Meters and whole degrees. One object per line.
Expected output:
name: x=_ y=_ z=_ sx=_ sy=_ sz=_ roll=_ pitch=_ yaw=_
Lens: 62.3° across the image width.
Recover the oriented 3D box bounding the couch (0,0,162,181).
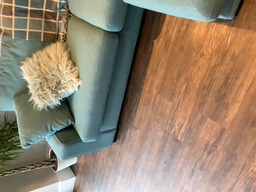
couch: x=-0.490 y=-0.640 z=1.640 sx=1.120 sy=0.830 sz=2.100 roll=38 pitch=123 yaw=40

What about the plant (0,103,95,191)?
plant: x=-1.570 y=0.700 z=1.940 sx=0.670 sy=2.400 sz=0.750 roll=37 pitch=123 yaw=40
